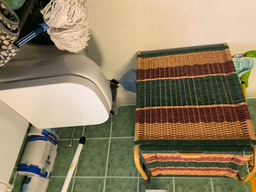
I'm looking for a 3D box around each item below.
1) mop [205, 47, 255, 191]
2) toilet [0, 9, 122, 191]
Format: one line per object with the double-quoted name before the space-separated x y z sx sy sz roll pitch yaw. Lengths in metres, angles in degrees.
"mop" 0.590 0.280 1.000 0.230 1.180 0.240 -1 146 7
"toilet" -0.400 0.030 1.000 0.620 0.780 0.380 -3 146 10
